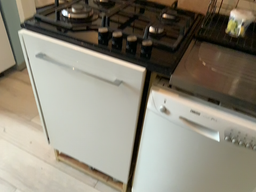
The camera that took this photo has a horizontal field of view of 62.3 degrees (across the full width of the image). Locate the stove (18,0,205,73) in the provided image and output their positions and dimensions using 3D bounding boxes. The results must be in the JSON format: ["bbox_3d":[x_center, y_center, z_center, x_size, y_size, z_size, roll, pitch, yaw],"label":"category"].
[{"bbox_3d":[-0.010,-0.360,0.930,0.590,0.050,0.610,20,42,15],"label":"stove"}]
